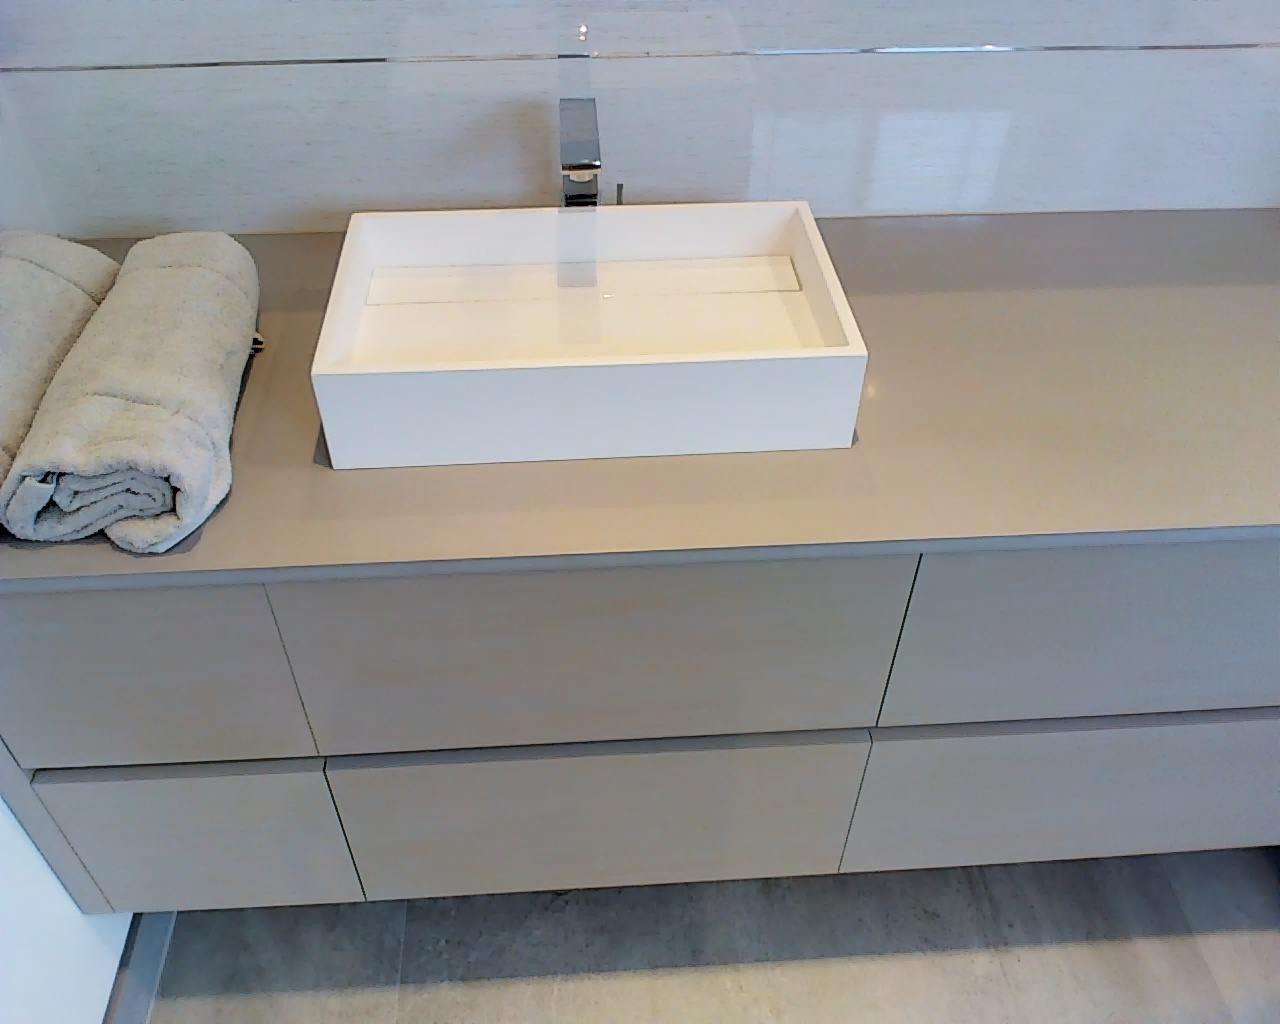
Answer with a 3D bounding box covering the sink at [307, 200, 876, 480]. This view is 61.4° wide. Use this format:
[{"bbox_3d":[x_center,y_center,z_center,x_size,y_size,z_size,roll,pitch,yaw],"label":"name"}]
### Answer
[{"bbox_3d":[-0.050,-0.190,1.120,0.510,0.120,0.310,-2,43,-3],"label":"sink"}]
